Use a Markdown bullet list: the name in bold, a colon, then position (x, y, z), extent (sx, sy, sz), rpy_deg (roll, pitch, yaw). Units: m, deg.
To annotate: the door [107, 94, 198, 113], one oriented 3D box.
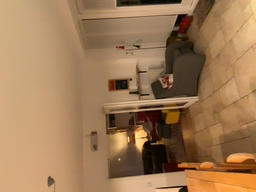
- **door**: position (0.490, 0.170, 4.590), extent (0.630, 1.850, 0.070), rpy_deg (98, 167, -69)
